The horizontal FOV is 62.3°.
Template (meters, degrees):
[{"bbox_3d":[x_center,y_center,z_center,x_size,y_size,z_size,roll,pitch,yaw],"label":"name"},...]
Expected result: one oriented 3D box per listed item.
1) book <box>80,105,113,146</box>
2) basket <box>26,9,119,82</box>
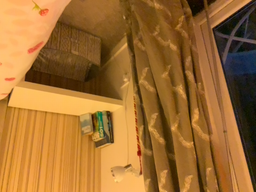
[{"bbox_3d":[-0.280,0.270,1.890,0.180,0.290,0.260,13,152,-33],"label":"book"},{"bbox_3d":[-0.490,-0.410,1.930,0.700,0.270,0.400,14,152,-34],"label":"basket"}]
